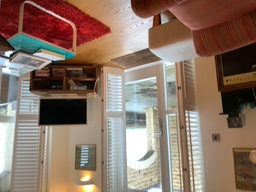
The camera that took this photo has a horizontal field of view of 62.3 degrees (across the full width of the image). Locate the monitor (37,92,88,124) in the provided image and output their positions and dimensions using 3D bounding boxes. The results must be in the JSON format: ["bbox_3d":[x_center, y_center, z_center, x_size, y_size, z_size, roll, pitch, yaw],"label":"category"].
[{"bbox_3d":[-0.990,0.180,3.230,0.740,0.490,0.040,0,170,-4],"label":"monitor"}]
